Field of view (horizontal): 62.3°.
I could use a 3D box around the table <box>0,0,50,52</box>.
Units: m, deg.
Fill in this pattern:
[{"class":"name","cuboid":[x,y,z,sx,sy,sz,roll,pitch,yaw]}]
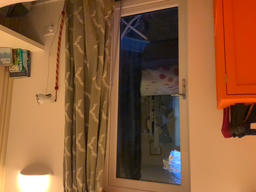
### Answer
[{"class":"table","cuboid":[-1.220,-0.870,1.990,0.440,0.630,0.830,-1,172,22]}]
